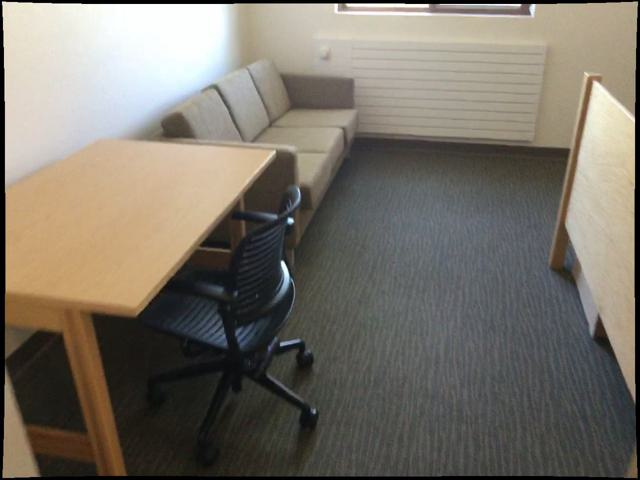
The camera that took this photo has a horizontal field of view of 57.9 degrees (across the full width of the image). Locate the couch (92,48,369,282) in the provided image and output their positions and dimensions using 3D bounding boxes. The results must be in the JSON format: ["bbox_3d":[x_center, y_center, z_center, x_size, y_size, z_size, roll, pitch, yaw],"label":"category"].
[{"bbox_3d":[-0.360,-0.631,3.640,0.999,0.751,1.970,6,29,12],"label":"couch"}]

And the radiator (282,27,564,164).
[{"bbox_3d":[0.719,-1.131,4.470,2.008,0.881,0.260,6,29,12],"label":"radiator"}]
